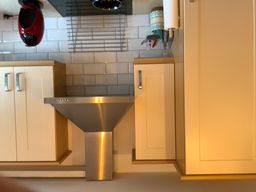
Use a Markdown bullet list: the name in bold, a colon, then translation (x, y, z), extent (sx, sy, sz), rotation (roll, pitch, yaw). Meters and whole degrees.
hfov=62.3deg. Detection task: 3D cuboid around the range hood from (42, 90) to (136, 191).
- **range hood**: translation (-0.260, 0.320, 1.660), extent (0.610, 0.700, 0.470), rotation (-2, -177, -1)
